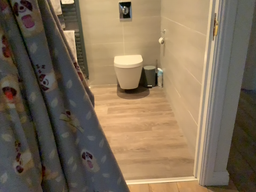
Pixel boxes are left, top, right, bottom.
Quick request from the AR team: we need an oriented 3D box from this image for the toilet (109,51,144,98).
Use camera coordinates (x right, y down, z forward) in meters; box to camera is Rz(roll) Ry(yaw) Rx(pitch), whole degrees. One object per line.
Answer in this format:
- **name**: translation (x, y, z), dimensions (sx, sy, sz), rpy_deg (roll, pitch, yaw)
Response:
- **toilet**: translation (-0.030, -0.300, 2.770), dimensions (0.400, 0.440, 0.520), rpy_deg (-4, 25, -2)
